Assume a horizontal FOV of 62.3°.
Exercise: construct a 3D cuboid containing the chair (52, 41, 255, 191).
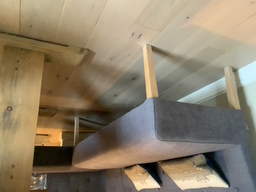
[{"bbox_3d":[-0.090,0.590,1.930,0.720,0.970,2.190,8,157,-27],"label":"chair"}]
